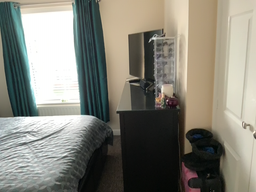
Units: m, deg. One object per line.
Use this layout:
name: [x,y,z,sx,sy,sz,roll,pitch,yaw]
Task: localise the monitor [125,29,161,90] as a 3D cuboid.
monitor: [0.150,-0.470,2.620,0.040,0.610,0.980,-8,15,-18]
